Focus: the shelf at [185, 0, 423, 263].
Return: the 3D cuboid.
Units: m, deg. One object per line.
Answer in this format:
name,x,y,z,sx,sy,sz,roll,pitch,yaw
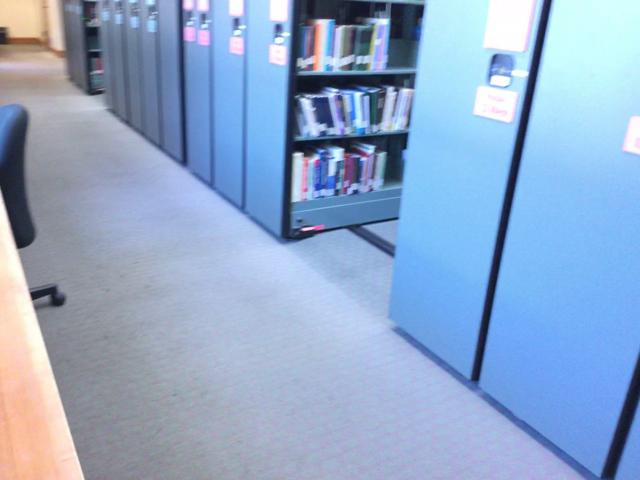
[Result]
shelf,-0.230,-1.360,3.750,0.780,2.410,1.790,-8,26,-28
